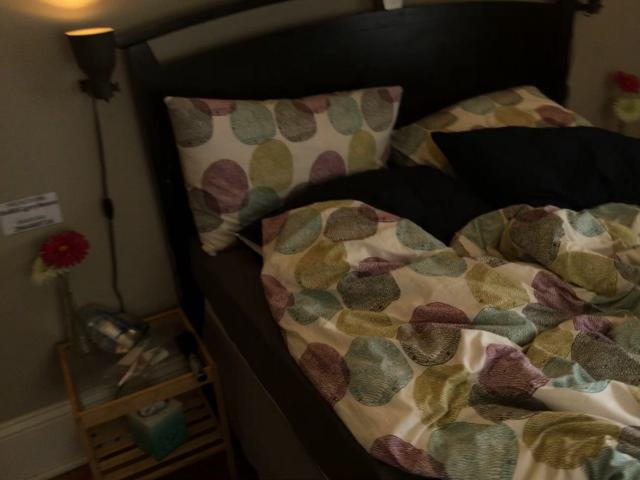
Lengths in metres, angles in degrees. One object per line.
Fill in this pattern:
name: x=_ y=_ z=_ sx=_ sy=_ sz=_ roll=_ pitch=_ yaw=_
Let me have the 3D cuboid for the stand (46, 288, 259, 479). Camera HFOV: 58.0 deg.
stand: x=-0.490 y=0.480 z=1.690 sx=0.430 sy=0.440 sz=0.420 roll=-18 pitch=27 yaw=-23
